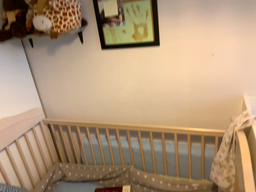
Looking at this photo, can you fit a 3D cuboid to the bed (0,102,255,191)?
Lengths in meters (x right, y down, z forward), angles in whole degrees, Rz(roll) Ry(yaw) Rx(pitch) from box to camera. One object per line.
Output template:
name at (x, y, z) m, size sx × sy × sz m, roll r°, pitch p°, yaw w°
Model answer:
bed at (-0.090, 0.630, 1.190) m, size 1.260 × 0.950 × 0.660 m, roll 2°, pitch 25°, yaw 21°
